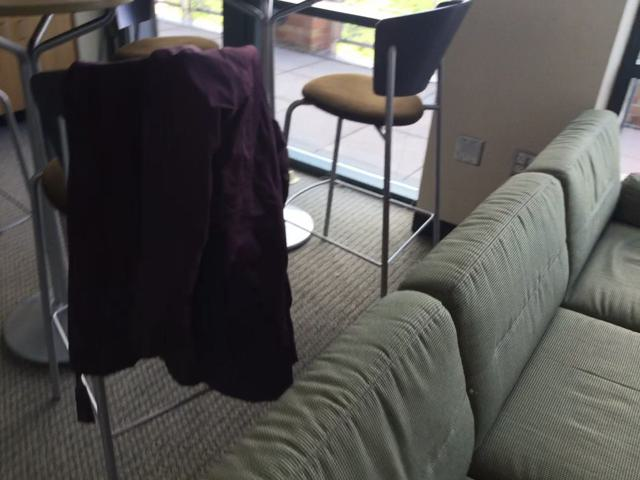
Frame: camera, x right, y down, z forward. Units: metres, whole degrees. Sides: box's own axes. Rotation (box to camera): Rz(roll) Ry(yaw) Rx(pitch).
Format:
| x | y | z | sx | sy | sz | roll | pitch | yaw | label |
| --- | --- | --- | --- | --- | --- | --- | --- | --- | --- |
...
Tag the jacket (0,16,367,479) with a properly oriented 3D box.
| x | y | z | sx | sy | sz | roll | pitch | yaw | label |
| --- | --- | --- | --- | --- | --- | --- | --- | --- | --- |
| -0.210 | 0.020 | 1.270 | 0.340 | 0.890 | 0.610 | 17 | 32 | 32 | jacket |
